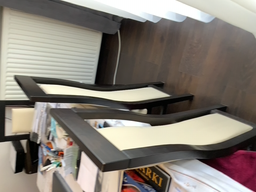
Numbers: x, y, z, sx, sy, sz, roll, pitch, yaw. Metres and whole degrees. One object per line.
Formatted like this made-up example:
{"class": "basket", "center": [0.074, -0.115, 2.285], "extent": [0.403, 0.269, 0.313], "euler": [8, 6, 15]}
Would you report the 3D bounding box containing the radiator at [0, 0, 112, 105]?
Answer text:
{"class": "radiator", "center": [-0.710, -0.420, 2.070], "extent": [0.210, 0.980, 0.970], "euler": [30, 113, 46]}
